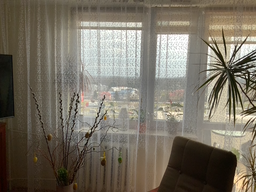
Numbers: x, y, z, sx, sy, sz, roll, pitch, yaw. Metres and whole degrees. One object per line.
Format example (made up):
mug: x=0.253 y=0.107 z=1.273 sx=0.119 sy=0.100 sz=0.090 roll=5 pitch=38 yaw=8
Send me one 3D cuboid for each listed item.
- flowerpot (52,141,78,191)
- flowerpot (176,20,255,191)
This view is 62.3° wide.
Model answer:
flowerpot: x=-0.600 y=0.920 z=2.030 sx=0.140 sy=0.900 sz=0.270 roll=2 pitch=6 yaw=7
flowerpot: x=1.160 y=0.400 z=1.680 sx=1.220 sy=1.800 sz=0.860 roll=6 pitch=7 yaw=39
